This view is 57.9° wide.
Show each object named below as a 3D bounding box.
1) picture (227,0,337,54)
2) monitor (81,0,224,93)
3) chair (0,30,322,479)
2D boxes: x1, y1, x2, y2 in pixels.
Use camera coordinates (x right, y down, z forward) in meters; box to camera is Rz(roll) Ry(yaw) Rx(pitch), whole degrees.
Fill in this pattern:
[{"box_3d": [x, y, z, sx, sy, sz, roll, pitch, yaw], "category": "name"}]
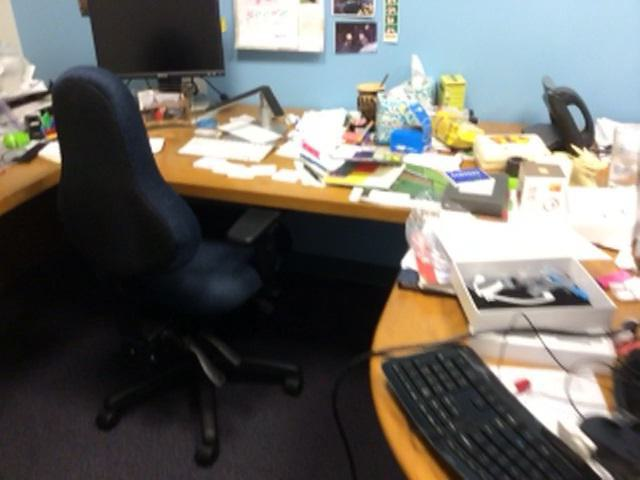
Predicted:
[{"box_3d": [-0.130, -0.770, 1.950, 0.360, 0.260, 0.070, 6, 30, 16], "category": "picture"}, {"box_3d": [-0.520, -0.670, 1.840, 0.370, 0.340, 0.170, -4, 29, -1], "category": "monitor"}, {"box_3d": [-0.360, 0.020, 1.610, 0.540, 1.060, 0.560, 6, 31, 17], "category": "chair"}]
